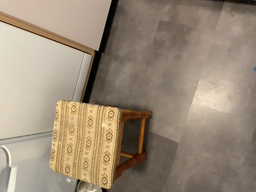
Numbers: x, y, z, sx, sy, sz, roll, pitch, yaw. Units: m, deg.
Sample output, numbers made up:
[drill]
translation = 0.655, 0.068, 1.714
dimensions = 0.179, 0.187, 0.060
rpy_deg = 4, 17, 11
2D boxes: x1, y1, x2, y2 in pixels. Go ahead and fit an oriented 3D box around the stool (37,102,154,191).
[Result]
[stool]
translation = -0.120, 0.200, 1.040
dimensions = 0.340, 0.460, 0.300
rpy_deg = 7, 91, 24
